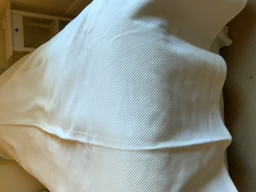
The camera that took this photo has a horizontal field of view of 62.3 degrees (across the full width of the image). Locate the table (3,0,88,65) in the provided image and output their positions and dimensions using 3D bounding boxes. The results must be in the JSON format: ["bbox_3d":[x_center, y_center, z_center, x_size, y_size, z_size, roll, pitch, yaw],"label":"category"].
[{"bbox_3d":[-0.880,-0.640,2.270,0.470,0.710,0.530,-2,92,54],"label":"table"}]
